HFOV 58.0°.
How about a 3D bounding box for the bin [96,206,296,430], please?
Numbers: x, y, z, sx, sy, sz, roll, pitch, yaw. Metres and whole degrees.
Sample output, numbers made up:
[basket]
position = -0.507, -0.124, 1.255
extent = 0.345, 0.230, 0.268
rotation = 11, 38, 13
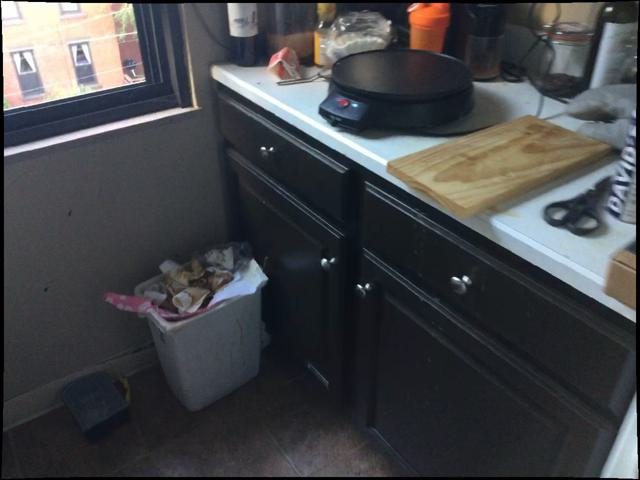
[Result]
[bin]
position = -0.329, 0.211, 1.650
extent = 0.439, 0.421, 0.270
rotation = -24, 43, -28

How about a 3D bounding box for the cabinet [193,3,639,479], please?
[cabinet]
position = 0.309, 0.060, 1.460
extent = 0.679, 0.901, 1.180
rotation = -23, 43, -28

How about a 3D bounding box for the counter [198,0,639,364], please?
[counter]
position = 0.319, -0.321, 1.220
extent = 0.659, 0.180, 1.180
rotation = -24, 43, -28
